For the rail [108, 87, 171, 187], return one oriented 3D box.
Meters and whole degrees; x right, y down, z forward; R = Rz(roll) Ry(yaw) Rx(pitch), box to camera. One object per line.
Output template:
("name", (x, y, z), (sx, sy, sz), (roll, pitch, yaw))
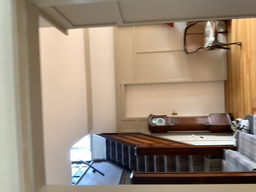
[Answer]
("rail", (0.220, 0.680, 3.840), (0.210, 1.730, 0.820), (29, 180, 5))
